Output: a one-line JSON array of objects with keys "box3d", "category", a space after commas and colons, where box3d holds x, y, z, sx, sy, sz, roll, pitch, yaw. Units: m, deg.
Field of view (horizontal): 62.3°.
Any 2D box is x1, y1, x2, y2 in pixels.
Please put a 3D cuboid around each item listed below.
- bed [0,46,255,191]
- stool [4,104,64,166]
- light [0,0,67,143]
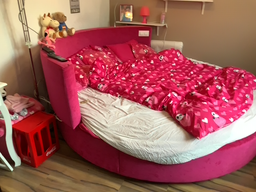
[{"box3d": [0.310, -0.030, 2.620, 2.350, 0.450, 2.360, 11, 28, 20], "category": "bed"}, {"box3d": [-0.830, 0.340, 1.920, 0.310, 0.380, 0.320, 11, 28, 20], "category": "stool"}, {"box3d": [-0.910, -0.400, 1.960, 0.430, 1.750, 0.260, 12, 28, 21], "category": "light"}]
